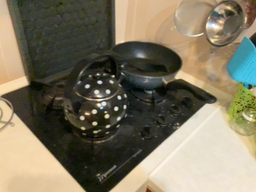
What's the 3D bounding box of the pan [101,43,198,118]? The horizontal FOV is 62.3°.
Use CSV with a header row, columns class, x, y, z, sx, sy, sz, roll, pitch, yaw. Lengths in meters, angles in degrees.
class,x,y,z,sx,sy,sz,roll,pitch,yaw
pan,0.080,-0.080,0.840,0.270,0.110,0.250,35,45,30
